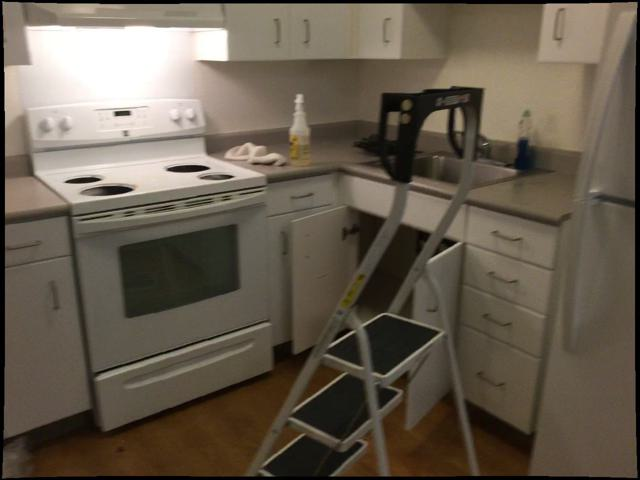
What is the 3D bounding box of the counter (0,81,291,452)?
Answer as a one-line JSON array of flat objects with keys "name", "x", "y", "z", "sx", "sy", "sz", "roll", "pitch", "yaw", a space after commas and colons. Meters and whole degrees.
[{"name": "counter", "x": -0.698, "y": 0.010, "z": 2.460, "sx": 0.879, "sy": 1.243, "sz": 0.749, "roll": -14, "pitch": 25, "yaw": -36}]
